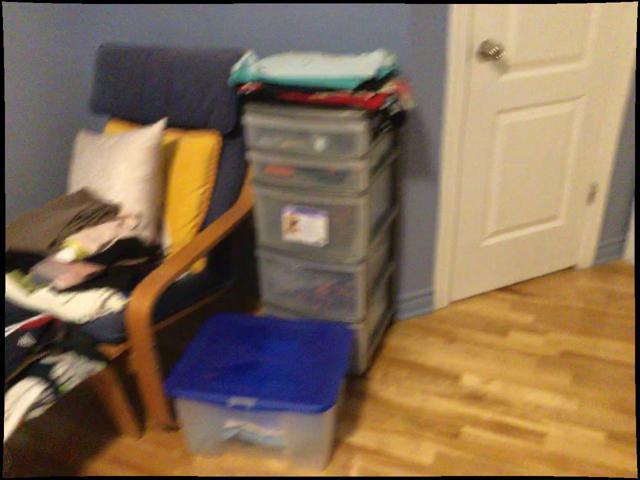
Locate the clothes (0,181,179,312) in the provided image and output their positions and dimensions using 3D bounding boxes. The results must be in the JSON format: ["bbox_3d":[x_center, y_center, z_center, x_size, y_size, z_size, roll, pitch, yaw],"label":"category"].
[{"bbox_3d":[-0.679,0.000,1.620,0.430,0.190,0.300,8,32,23],"label":"clothes"}]
